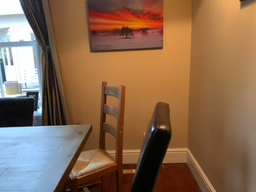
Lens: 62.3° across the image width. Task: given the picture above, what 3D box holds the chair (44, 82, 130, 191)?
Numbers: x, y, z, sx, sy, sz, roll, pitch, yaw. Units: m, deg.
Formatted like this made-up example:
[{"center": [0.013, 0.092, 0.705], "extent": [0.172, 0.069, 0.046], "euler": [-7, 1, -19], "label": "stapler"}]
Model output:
[{"center": [-0.320, 0.440, 1.710], "extent": [0.480, 1.020, 0.440], "euler": [-10, 13, -31], "label": "chair"}]
